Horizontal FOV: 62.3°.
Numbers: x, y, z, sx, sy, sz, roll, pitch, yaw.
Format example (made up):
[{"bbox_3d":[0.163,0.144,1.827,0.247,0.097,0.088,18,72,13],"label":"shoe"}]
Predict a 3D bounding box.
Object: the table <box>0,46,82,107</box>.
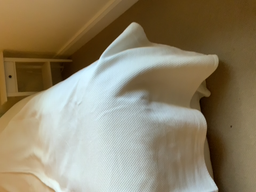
[{"bbox_3d":[-0.980,-0.210,2.360,0.470,0.710,0.530,-12,86,52],"label":"table"}]
